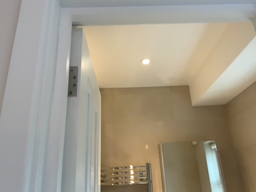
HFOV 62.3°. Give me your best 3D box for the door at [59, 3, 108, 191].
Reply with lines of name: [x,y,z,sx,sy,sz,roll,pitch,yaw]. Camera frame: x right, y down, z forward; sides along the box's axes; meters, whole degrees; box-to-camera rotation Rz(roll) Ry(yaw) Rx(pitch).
door: [-0.120,0.830,0.720,0.050,2.090,0.870,-2,-21,-2]
